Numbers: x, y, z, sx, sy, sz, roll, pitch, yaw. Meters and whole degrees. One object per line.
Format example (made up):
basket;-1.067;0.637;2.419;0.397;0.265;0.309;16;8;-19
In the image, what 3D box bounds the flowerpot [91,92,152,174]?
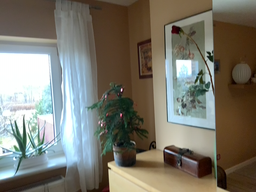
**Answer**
flowerpot;-0.050;0.230;1.530;0.310;0.500;0.280;-5;5;-36
